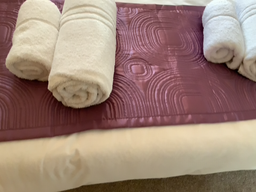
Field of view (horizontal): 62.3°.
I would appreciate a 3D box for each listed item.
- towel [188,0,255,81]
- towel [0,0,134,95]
[{"bbox_3d":[0.370,-0.260,0.660,0.280,0.100,0.440,18,58,2],"label":"towel"},{"bbox_3d":[-0.140,-0.210,0.540,0.260,0.100,0.420,0,60,-9],"label":"towel"}]
